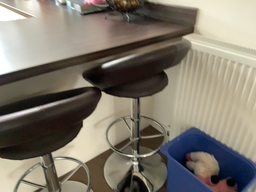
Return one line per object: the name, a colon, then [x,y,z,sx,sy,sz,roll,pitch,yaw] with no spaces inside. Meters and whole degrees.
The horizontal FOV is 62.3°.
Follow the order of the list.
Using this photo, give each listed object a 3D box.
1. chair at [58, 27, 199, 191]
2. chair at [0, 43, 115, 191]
chair: [0.000,0.150,1.190,0.440,0.900,0.460,27,40,36]
chair: [-0.380,0.310,0.920,0.440,0.900,0.460,27,40,36]
